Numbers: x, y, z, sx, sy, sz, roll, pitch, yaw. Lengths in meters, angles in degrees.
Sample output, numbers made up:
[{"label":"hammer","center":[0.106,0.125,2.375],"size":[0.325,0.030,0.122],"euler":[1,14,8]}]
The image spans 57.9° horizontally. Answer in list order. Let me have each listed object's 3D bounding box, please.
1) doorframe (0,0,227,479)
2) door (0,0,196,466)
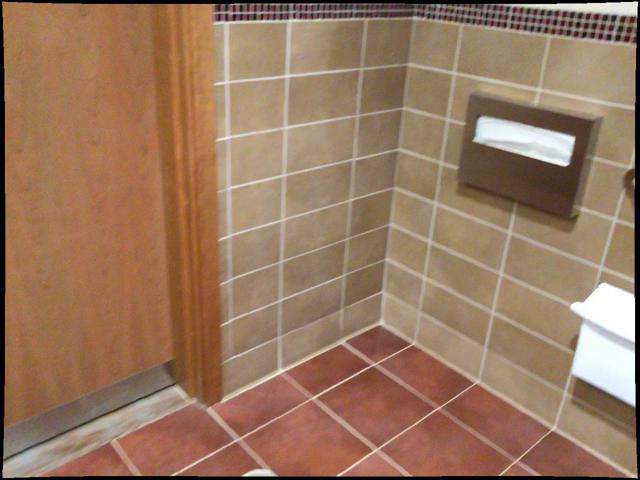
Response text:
[{"label":"doorframe","center":[-0.729,-0.350,1.260],"size":[0.989,2.102,0.220],"euler":[-18,32,-35]},{"label":"door","center":[-0.779,-0.350,1.300],"size":[0.920,2.062,0.100],"euler":[-18,32,-35]}]
